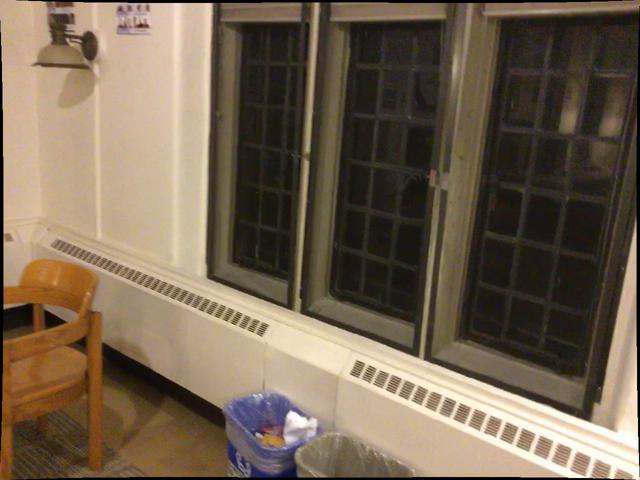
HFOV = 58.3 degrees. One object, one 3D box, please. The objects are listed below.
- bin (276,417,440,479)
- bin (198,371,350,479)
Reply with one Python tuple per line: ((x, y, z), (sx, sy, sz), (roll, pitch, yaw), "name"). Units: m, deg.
((0.110, 0.871, 1.860), (0.420, 0.360, 0.300), (13, 16, 34), "bin")
((-0.180, 0.781, 2.060), (0.290, 0.400, 0.470), (-9, 18, -43), "bin")
